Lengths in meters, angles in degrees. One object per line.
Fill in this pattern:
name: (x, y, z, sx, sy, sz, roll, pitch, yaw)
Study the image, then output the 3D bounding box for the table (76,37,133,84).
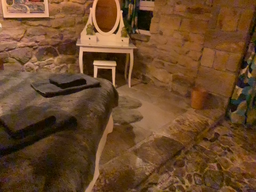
table: (-0.450, -0.670, 3.940, 0.930, 0.710, 0.610, 0, 25, -10)
